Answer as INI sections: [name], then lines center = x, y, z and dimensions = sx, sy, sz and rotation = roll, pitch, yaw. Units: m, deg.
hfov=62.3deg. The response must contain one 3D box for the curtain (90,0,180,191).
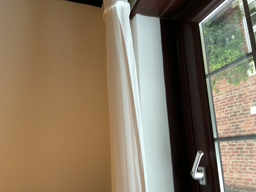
[curtain]
center = -0.020, 0.100, 0.900
dimensions = 0.190, 2.460, 0.450
rotation = 3, 165, -22
